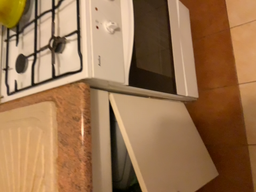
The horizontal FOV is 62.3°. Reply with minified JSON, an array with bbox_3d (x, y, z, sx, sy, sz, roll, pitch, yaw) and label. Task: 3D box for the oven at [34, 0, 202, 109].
[{"bbox_3d":[-0.040,-0.220,1.150,0.610,0.640,0.510,-9,80,37],"label":"oven"}]
